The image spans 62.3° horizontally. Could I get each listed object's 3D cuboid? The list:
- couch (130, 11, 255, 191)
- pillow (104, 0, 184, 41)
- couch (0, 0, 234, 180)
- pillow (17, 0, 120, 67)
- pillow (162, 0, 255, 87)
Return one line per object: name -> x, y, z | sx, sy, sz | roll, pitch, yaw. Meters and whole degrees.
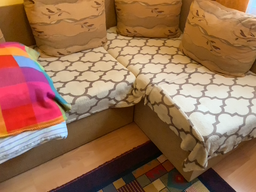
couch -> 0.550, -0.030, 1.370 | 0.830, 0.710, 0.630 | -21, 46, -26
pillow -> 0.140, -0.710, 1.750 | 0.550, 0.340, 0.200 | -8, 52, 27
couch -> -0.350, -0.250, 1.550 | 2.060, 0.750, 0.810 | -21, 46, -26
pillow -> -0.410, -0.580, 1.560 | 0.540, 0.470, 0.250 | -33, 46, -11
pillow -> 0.540, -0.400, 1.430 | 0.210, 0.340, 0.640 | -20, 45, -25
